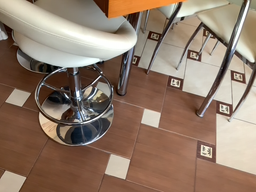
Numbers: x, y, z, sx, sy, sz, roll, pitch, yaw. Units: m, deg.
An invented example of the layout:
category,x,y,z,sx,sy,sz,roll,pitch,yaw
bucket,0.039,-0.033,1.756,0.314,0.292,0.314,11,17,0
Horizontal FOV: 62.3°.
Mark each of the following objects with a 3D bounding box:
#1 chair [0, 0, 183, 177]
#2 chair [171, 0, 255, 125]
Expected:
category,x,y,z,sx,sy,sz,roll,pitch,yaw
chair,-0.240,-0.140,0.900,0.480,0.830,0.530,-27,62,-26
chair,0.680,-0.370,1.130,0.380,0.970,0.540,-24,61,-24
